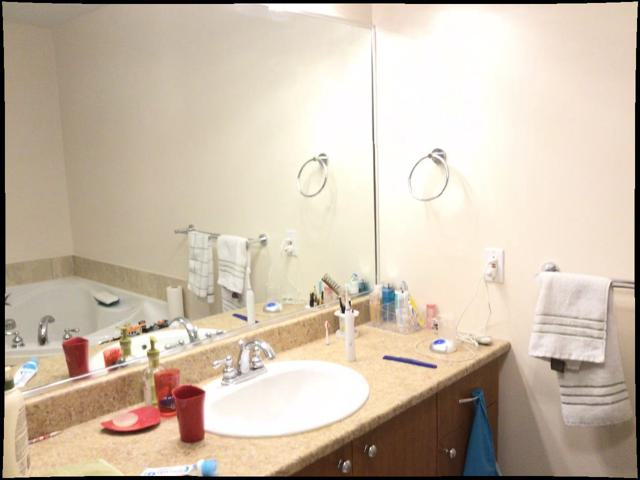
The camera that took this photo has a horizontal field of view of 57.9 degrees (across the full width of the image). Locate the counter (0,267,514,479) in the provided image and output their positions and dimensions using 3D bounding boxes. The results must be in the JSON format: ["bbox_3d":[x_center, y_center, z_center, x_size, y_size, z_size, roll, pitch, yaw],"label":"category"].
[{"bbox_3d":[-0.090,0.380,1.560,0.580,0.240,1.529,5,14,43],"label":"counter"}]

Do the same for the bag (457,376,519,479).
[{"bbox_3d":[0.539,0.741,1.830,0.090,0.561,0.210,5,13,43],"label":"bag"}]

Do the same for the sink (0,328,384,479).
[{"bbox_3d":[-0.330,0.480,1.390,0.470,0.190,0.970,5,14,43],"label":"sink"}]

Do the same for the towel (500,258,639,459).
[{"bbox_3d":[0.749,0.330,1.730,0.340,0.500,0.190,5,13,43],"label":"towel"}]
